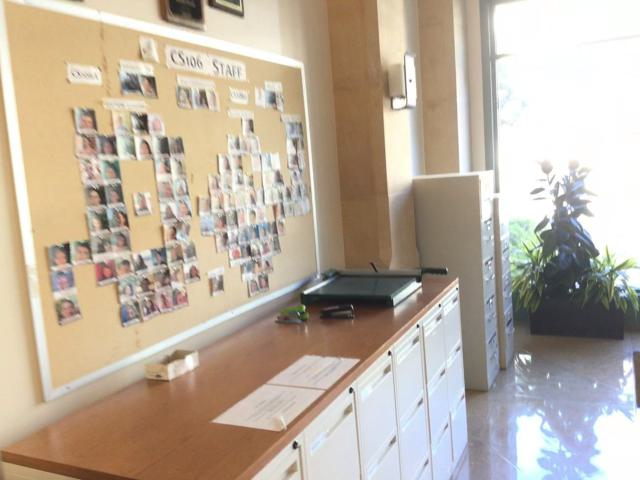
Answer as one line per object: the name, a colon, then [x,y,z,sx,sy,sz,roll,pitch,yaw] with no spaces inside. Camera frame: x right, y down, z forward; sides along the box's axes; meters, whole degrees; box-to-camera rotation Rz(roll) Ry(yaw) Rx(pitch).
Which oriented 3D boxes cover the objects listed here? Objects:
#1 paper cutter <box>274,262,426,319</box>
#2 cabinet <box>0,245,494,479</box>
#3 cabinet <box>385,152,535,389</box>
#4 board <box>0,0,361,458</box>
paper cutter: [0.160,0.250,2.890,0.600,0.120,0.480,-6,9,29]
cabinet: [0.000,0.850,2.340,0.790,1.120,2.310,-6,9,29]
cabinet: [1.000,0.210,4.070,0.700,1.500,0.560,-6,9,29]
board: [-0.400,-0.210,2.460,0.180,1.310,1.950,-6,9,29]
